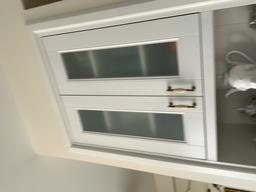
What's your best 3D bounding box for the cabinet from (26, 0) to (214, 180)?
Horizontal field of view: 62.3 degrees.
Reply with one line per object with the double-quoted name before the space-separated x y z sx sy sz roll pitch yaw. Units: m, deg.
"cabinet" 0.010 -0.060 1.130 0.370 0.800 0.770 -45 -49 -55
